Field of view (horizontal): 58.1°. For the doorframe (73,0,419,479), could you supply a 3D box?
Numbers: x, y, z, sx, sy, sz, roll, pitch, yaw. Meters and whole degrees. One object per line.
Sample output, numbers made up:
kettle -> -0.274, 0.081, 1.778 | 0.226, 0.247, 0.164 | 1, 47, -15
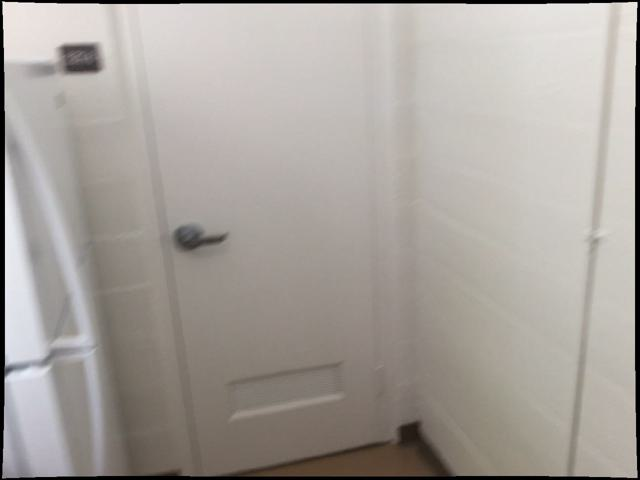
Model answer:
doorframe -> -0.160, -0.010, 1.930 | 1.008, 1.854, 0.120 | -7, 17, -15
